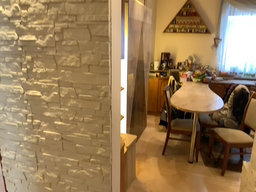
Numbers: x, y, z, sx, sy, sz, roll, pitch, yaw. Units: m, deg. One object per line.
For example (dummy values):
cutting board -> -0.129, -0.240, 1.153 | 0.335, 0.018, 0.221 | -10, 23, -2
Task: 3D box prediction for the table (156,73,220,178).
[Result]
table -> 1.000, 0.240, 3.660 | 0.650, 0.880, 2.400 | 5, 16, 14
